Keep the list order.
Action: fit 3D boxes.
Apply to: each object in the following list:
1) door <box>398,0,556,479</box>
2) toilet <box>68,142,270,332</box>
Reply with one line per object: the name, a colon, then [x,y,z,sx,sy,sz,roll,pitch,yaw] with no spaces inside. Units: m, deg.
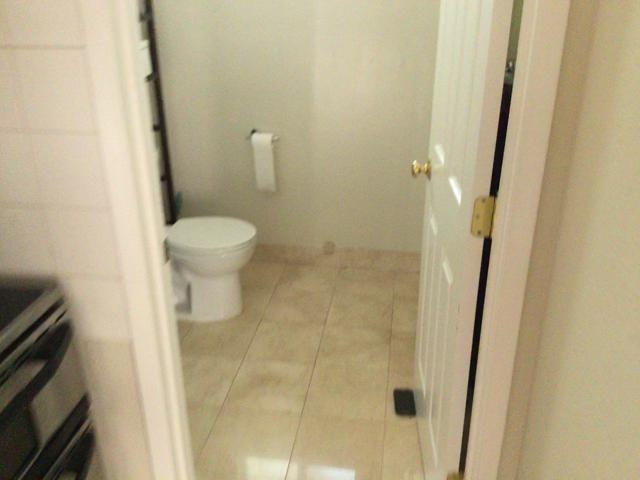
door: [0.350,-0.200,1.450,0.080,2.110,0.790,3,25,2]
toilet: [-0.650,-0.030,2.700,0.730,0.740,0.450,3,24,6]
